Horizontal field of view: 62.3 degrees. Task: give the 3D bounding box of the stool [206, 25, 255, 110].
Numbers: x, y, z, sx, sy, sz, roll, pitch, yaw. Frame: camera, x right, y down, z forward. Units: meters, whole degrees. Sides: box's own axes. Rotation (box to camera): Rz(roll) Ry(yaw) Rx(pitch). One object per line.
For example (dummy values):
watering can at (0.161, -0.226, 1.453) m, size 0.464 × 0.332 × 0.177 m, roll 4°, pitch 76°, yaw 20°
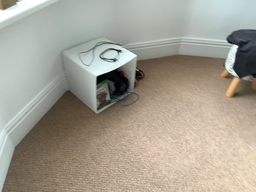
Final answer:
stool at (0.830, -0.210, 1.490) m, size 0.310 × 0.400 × 0.350 m, roll 32°, pitch 49°, yaw 27°
